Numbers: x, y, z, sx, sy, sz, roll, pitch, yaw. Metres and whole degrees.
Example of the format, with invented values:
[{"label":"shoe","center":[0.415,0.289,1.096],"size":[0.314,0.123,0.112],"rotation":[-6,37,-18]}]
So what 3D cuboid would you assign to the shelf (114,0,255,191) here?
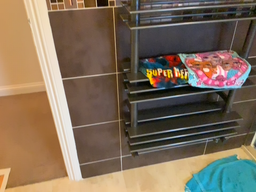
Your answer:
[{"label":"shelf","center":[0.300,-0.050,1.000],"size":[0.660,1.390,0.270],"rotation":[-8,34,-10]}]
